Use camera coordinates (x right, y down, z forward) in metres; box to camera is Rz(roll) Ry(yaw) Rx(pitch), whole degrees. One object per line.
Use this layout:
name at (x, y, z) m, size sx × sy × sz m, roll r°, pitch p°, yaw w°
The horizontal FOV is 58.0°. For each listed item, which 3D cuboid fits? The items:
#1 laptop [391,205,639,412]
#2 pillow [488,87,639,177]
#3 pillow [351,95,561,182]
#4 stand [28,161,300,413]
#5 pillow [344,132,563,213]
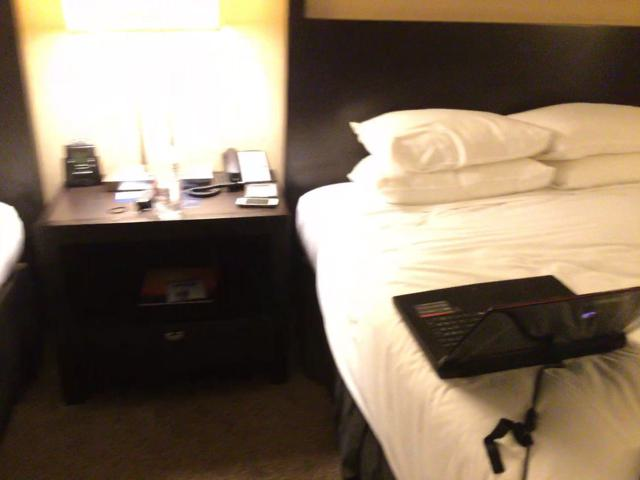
laptop at (0.430, 0.110, 1.150) m, size 0.460 × 0.250 × 0.370 m, roll 0°, pitch 21°, yaw -11°
pillow at (1.040, -0.410, 2.170) m, size 0.640 × 0.240 × 0.410 m, roll 0°, pitch 21°, yaw -11°
pillow at (0.460, -0.370, 2.070) m, size 0.610 × 0.210 × 0.380 m, roll 0°, pitch 21°, yaw -11°
stand at (-0.510, 0.140, 2.050) m, size 0.770 × 0.710 × 0.510 m, roll 0°, pitch 21°, yaw -11°
pillow at (0.450, -0.250, 2.080) m, size 0.640 × 0.170 × 0.420 m, roll 0°, pitch 21°, yaw -11°
